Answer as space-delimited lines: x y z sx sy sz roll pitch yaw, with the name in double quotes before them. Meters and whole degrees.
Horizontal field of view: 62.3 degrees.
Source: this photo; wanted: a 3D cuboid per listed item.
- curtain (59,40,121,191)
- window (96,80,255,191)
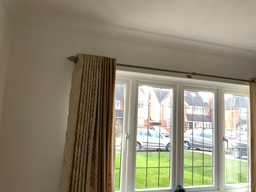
"curtain" -0.330 0.320 1.850 0.450 1.560 0.160 4 -7 -16
"window" 0.680 0.510 2.540 2.040 1.210 0.110 4 -7 -17
